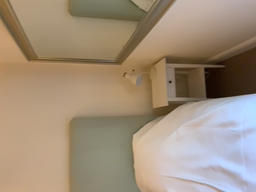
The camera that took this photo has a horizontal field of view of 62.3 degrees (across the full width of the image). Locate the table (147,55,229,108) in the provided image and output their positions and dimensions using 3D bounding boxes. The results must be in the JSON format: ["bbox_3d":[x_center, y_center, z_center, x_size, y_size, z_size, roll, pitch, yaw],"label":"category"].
[{"bbox_3d":[0.620,-0.130,2.300,0.450,0.690,0.470,158,111,-73],"label":"table"}]
